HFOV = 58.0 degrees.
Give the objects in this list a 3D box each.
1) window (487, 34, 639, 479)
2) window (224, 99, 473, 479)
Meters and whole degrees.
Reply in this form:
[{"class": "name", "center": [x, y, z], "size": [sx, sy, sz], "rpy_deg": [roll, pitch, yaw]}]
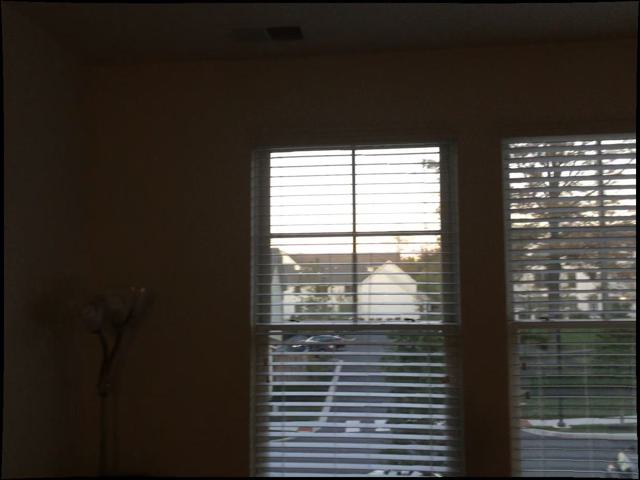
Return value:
[{"class": "window", "center": [1.247, 0.130, 2.280], "size": [1.068, 1.774, 0.300], "rpy_deg": [-2, 4, 8]}, {"class": "window", "center": [0.140, 0.291, 2.420], "size": [0.908, 1.614, 0.430], "rpy_deg": [-2, 4, 8]}]
